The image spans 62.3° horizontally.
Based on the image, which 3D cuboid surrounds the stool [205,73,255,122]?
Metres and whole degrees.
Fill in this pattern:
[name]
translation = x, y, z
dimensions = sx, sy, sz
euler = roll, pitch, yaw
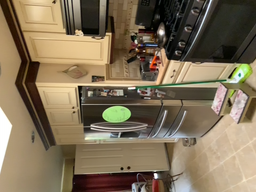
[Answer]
[stool]
translation = 1.140, 0.010, 2.360
dimensions = 0.380, 0.300, 0.410
euler = -105, 18, -59
